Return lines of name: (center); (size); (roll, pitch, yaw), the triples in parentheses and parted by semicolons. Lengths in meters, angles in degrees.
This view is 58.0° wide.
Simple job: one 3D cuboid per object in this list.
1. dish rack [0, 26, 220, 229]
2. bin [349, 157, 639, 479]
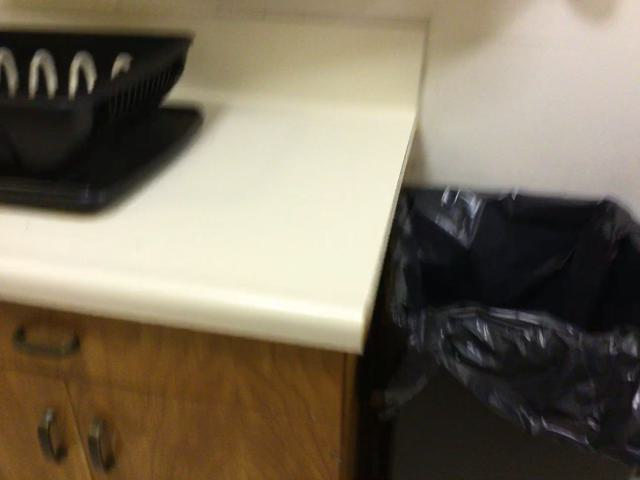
dish rack: (-0.490, -0.210, 0.900); (0.540, 0.150, 0.410); (6, 32, 10)
bin: (0.340, 0.360, 1.050); (0.500, 0.830, 0.540); (6, 32, 10)
